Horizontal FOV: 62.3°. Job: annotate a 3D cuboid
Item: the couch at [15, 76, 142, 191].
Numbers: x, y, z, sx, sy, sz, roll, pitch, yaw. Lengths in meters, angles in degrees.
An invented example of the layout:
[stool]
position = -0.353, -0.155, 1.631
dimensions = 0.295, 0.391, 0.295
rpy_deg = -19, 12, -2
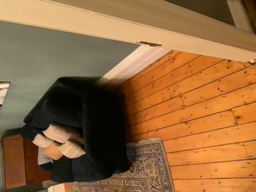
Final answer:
[couch]
position = -0.860, 0.620, 2.880
dimensions = 1.980, 0.840, 1.060
rpy_deg = -28, 68, 49
